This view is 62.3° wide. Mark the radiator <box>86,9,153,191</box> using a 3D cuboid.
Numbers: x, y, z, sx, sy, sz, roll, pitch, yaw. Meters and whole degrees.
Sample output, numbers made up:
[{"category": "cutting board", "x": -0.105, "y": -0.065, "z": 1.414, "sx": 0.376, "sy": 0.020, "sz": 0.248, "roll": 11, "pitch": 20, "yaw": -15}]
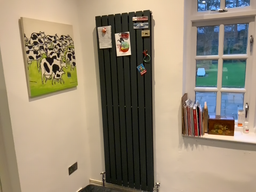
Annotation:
[{"category": "radiator", "x": -0.070, "y": 0.110, "z": 2.160, "sx": 0.620, "sy": 1.790, "sz": 0.100, "roll": 3, "pitch": 12, "yaw": 23}]
